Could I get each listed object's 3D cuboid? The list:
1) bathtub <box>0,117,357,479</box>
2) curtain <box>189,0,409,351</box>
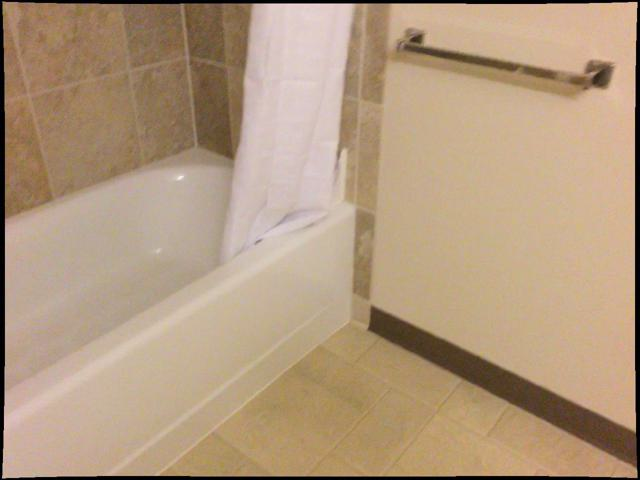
[{"bbox_3d":[-0.658,0.231,1.600,0.779,0.571,1.479,24,39,30],"label":"bathtub"},{"bbox_3d":[-0.040,-0.672,1.310,0.300,2.034,0.460,22,42,32],"label":"curtain"}]
